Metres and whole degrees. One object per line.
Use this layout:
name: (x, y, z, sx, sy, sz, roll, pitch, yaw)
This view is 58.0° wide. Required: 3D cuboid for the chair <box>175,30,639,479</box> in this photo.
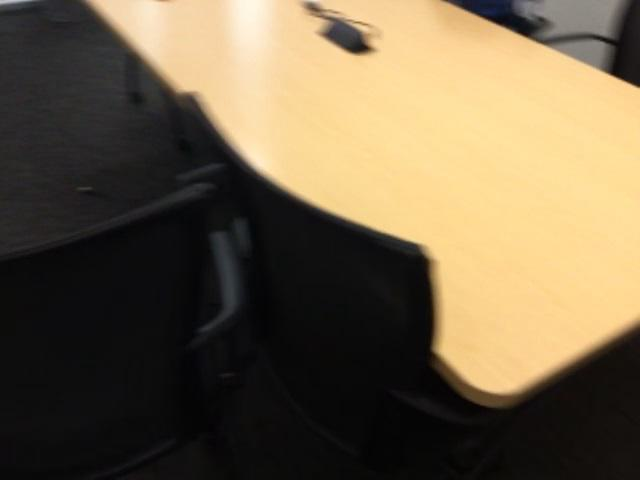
chair: (0.140, 0.210, 1.090, 0.570, 0.950, 0.530, -19, 47, -26)
